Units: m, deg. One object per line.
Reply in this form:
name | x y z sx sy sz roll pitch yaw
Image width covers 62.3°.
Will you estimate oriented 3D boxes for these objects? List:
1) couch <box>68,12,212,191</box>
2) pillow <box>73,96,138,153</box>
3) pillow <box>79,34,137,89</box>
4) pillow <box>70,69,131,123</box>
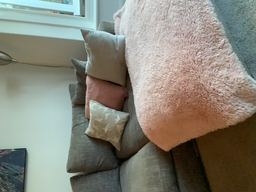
couch | -0.040 0.560 1.840 1.090 0.760 2.220 126 140 -56
pillow | -0.200 0.270 1.930 0.390 0.410 0.160 53 -151 -18
pillow | -0.150 -0.270 1.740 0.380 0.400 0.140 78 -179 -52
pillow | -0.250 0.010 1.950 0.360 0.420 0.110 55 -154 -21
